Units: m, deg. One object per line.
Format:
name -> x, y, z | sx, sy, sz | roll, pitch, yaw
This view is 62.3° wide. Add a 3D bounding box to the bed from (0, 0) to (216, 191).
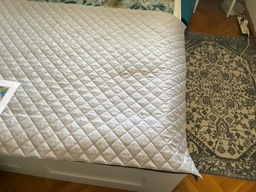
bed -> -0.310, -0.510, 1.640 | 1.560, 0.510, 2.210 | 8, 56, 3
